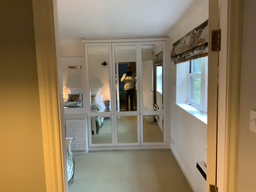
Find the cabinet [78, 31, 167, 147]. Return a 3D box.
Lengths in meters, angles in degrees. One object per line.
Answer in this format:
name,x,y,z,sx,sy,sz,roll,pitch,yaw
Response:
cabinet,-0.090,-0.130,4.510,1.760,2.350,0.310,-2,7,-1
